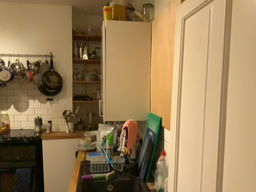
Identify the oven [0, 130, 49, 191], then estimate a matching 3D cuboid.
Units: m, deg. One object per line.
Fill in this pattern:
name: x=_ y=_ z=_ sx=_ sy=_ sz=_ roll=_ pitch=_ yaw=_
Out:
oven: x=-1.490 y=0.980 z=3.010 sx=0.590 sy=0.870 sz=0.600 roll=0 pitch=3 yaw=-10
